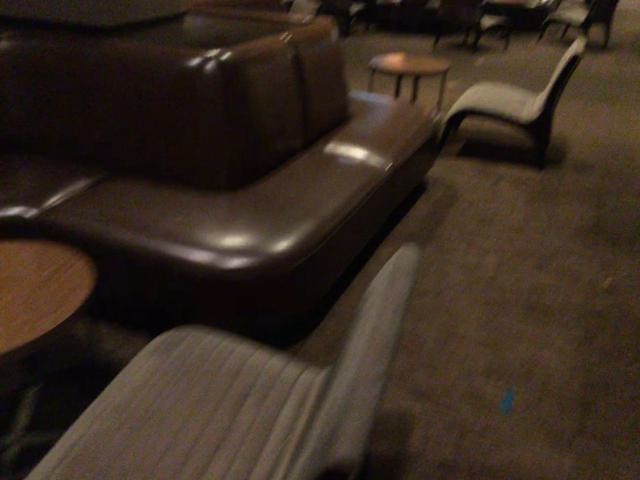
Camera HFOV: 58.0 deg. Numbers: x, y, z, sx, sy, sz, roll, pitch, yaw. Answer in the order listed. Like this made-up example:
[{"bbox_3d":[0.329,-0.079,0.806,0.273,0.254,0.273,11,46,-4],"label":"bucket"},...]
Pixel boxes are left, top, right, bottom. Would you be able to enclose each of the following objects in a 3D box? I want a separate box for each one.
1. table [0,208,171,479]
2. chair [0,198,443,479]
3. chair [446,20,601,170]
[{"bbox_3d":[-0.850,0.330,1.580,0.580,0.540,0.580,16,31,22],"label":"table"},{"bbox_3d":[-0.230,0.430,1.260,0.830,0.700,0.810,-2,30,20],"label":"chair"},{"bbox_3d":[1.310,-0.950,3.720,0.770,0.700,0.750,8,33,28],"label":"chair"}]
